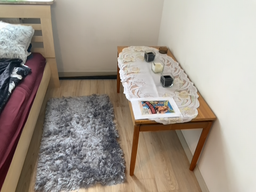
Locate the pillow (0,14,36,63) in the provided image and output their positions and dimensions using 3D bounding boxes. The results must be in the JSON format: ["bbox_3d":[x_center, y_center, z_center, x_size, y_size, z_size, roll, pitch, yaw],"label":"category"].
[{"bbox_3d":[-1.180,-0.530,1.910,0.520,0.260,0.490,-2,37,-9],"label":"pillow"}]
